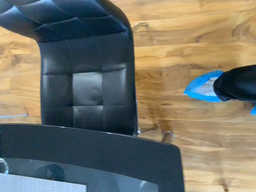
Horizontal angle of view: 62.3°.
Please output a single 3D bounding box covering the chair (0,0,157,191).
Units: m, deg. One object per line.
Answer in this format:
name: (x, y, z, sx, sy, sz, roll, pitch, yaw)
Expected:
chair: (-0.200, -0.130, 0.800, 0.430, 0.950, 0.620, -5, 93, 16)
